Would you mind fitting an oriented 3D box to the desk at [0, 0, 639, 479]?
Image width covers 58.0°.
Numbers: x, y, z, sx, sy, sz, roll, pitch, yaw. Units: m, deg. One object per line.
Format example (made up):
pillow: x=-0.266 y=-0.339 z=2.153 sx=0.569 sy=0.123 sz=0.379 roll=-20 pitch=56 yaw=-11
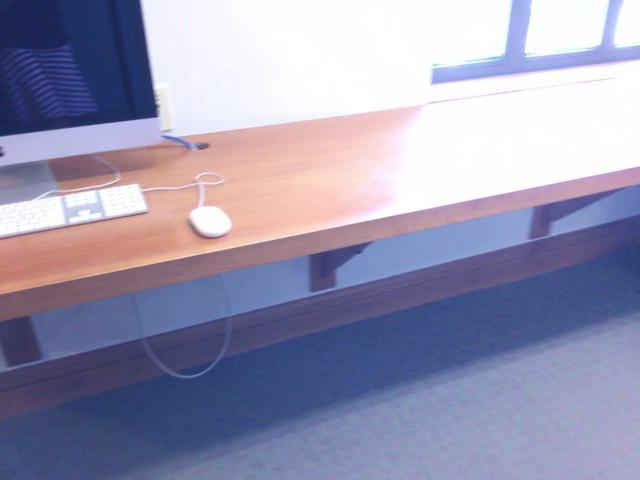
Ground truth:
desk: x=1.560 y=-0.470 z=1.990 sx=6.070 sy=0.980 sz=0.850 roll=-9 pitch=29 yaw=-19
